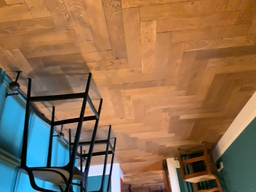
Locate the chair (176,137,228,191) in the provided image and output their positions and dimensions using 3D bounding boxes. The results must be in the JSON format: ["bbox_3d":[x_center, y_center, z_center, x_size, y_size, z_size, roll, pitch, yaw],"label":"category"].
[{"bbox_3d":[1.080,1.160,3.060,0.470,0.940,0.470,-21,146,25],"label":"chair"}]
